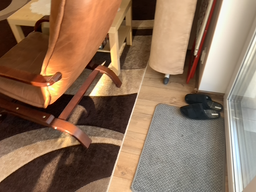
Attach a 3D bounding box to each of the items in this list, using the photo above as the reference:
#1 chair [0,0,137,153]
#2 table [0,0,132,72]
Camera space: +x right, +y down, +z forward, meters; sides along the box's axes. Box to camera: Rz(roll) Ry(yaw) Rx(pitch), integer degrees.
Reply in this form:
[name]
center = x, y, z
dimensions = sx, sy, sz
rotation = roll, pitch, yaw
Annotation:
[chair]
center = -0.490, -0.320, 1.280
dimensions = 0.950, 0.990, 0.690
rotation = 10, 47, 12
[table]
center = -0.510, -0.640, 1.970
dimensions = 0.980, 0.460, 0.580
rotation = 8, 46, 10
